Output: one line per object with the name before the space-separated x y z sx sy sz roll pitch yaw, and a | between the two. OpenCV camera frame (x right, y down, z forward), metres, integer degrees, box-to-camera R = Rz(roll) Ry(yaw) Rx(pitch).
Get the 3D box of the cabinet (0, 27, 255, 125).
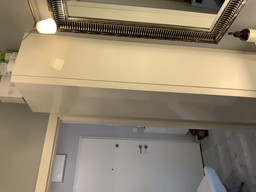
cabinet | 0.350 -0.070 1.350 0.410 2.050 0.320 105 167 -60
